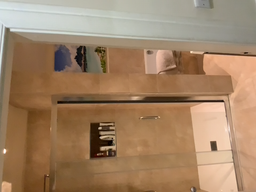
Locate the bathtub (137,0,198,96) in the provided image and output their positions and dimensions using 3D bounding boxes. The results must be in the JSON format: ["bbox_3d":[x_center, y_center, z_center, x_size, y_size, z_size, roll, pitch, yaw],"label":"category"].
[{"bbox_3d":[0.570,-0.880,3.430,0.740,0.570,1.650,139,130,-71],"label":"bathtub"}]
